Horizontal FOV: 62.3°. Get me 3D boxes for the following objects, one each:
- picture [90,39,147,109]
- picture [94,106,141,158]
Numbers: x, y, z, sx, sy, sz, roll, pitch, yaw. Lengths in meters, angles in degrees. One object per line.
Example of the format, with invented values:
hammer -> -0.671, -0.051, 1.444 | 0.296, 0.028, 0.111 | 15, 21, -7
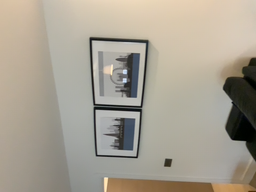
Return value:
picture -> -0.100, -0.190, 2.070 | 0.040, 0.510, 0.700 | -86, 0, -59
picture -> -0.130, 0.440, 2.470 | 0.040, 0.510, 0.720 | -86, 0, -60
